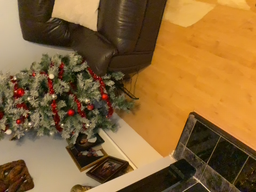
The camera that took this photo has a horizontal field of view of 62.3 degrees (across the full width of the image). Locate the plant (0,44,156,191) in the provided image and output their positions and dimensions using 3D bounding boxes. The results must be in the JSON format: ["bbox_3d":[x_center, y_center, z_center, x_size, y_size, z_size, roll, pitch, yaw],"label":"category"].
[{"bbox_3d":[-0.740,0.130,1.930,0.860,1.670,0.980,37,126,43],"label":"plant"}]
